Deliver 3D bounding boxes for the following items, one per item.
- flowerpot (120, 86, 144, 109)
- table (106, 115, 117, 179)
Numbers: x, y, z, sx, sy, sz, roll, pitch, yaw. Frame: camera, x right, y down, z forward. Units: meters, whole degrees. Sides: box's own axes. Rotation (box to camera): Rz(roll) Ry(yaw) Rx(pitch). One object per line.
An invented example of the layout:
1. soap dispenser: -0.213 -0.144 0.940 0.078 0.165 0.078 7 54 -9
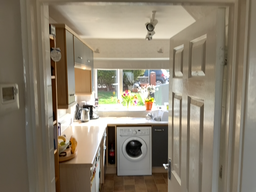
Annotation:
1. flowerpot: 0.080 0.030 4.130 0.450 0.420 0.280 0 6 -1
2. table: -0.290 0.880 3.800 0.150 0.970 0.590 -1 6 -2
